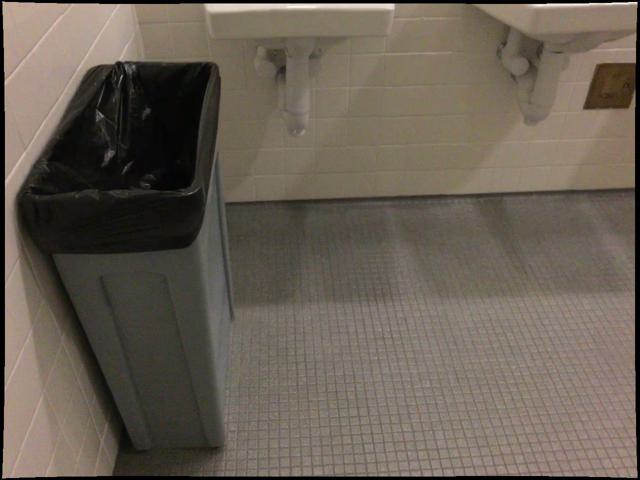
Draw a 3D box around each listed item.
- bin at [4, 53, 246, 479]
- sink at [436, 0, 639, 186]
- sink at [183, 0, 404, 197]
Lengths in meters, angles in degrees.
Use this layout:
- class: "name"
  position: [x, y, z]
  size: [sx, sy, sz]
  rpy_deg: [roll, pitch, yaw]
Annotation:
- class: "bin"
  position: [-0.359, 0.060, 1.370]
  size: [0.279, 0.771, 0.641]
  rpy_deg: [-3, 39, -3]
- class: "sink"
  position: [0.688, -0.541, 1.670]
  size: [0.539, 0.591, 0.450]
  rpy_deg: [-3, 39, -3]
- class: "sink"
  position: [-0.070, -0.501, 1.620]
  size: [0.499, 0.581, 0.450]
  rpy_deg: [-3, 39, -3]
